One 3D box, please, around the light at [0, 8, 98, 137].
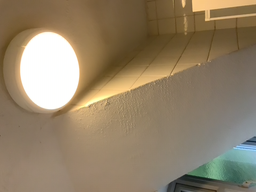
[{"bbox_3d":[-0.280,-0.080,0.790,0.320,0.100,0.340,63,37,-47],"label":"light"}]
